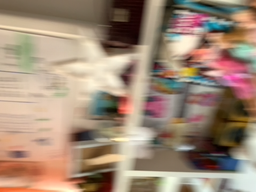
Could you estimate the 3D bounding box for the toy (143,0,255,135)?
[{"bbox_3d":[0.330,-0.130,0.700,0.370,0.440,0.350,-106,23,-62],"label":"toy"}]
